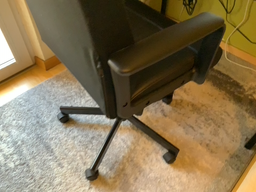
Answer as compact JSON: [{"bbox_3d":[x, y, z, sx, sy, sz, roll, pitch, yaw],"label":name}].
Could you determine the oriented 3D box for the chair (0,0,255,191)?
[{"bbox_3d":[-0.020,-0.250,0.750,0.660,1.200,0.670,-28,55,-23],"label":"chair"}]
